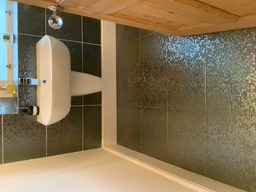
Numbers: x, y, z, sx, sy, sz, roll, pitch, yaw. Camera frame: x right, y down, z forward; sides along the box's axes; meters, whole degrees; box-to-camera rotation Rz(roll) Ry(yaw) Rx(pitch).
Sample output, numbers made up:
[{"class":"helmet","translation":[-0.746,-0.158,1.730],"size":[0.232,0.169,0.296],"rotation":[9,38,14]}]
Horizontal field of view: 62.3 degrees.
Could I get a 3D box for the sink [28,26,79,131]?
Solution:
[{"class":"sink","translation":[-0.590,-0.120,1.640],"size":[0.460,0.250,0.680],"rotation":[2,92,54]}]
